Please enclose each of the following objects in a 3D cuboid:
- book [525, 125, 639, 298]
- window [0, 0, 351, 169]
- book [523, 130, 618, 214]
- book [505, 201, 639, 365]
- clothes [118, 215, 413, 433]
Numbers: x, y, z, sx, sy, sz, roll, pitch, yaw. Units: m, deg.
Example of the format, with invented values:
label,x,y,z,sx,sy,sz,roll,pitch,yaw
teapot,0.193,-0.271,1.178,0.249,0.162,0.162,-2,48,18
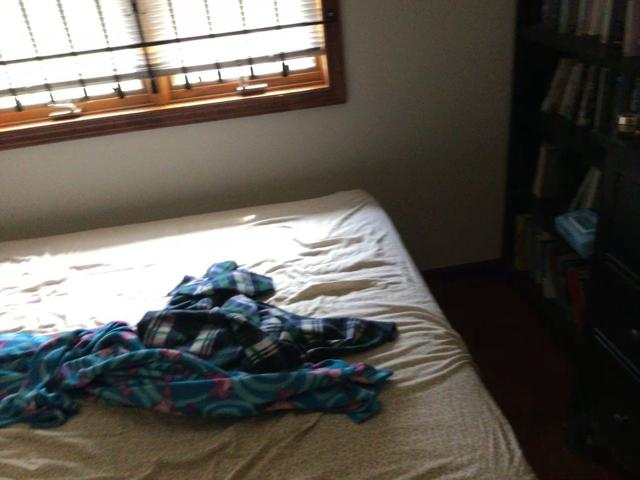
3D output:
label,x,y,z,sx,sy,sz,roll,pitch,yaw
book,0.910,-0.120,1.780,0.250,0.280,0.600,-9,28,-7
window,-0.630,-0.930,1.680,1.370,1.340,0.180,-9,28,-7
book,0.890,-0.250,2.080,0.200,0.210,0.230,-9,28,-7
book,0.930,0.120,2.070,0.230,0.260,0.650,-9,28,-7
clothes,-0.140,0.150,1.360,0.560,0.120,0.560,-9,28,-7
